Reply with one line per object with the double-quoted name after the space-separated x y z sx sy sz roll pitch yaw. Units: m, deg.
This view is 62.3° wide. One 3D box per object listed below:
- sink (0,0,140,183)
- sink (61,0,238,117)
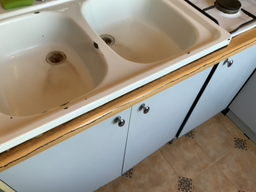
-0.300 -0.110 0.680 0.410 0.190 0.560 -26 59 -23 "sink"
0.040 -0.260 0.840 0.390 0.200 0.560 -26 59 -23 "sink"
